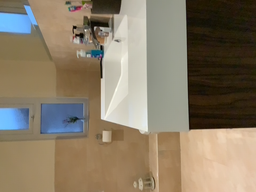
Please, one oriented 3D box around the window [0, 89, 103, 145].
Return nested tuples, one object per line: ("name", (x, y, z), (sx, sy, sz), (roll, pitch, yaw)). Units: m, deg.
("window", (-0.860, 0.200, 2.150), (0.210, 1.180, 0.520), (166, 103, -75))
